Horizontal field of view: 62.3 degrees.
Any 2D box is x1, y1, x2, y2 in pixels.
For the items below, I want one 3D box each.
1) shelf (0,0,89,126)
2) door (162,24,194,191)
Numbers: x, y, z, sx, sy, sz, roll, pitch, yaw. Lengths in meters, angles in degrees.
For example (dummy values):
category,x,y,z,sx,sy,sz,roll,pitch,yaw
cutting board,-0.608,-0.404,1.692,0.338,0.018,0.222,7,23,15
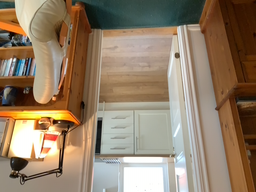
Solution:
category,x,y,z,sx,sy,sz,roll,pitch,yaw
shelf,-0.800,-0.270,1.660,0.860,0.940,0.310,-2,156,3
door,0.430,0.460,1.900,0.070,2.110,0.790,-2,156,5
